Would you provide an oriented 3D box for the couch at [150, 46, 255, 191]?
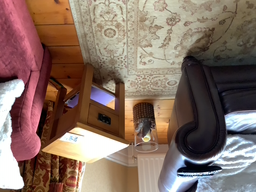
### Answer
[{"bbox_3d":[0.760,0.330,1.420,1.080,0.850,0.980,-3,143,0],"label":"couch"}]

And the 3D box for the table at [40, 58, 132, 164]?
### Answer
[{"bbox_3d":[-0.260,0.120,1.390,0.390,0.480,0.380,25,135,-33],"label":"table"}]
